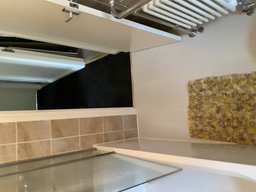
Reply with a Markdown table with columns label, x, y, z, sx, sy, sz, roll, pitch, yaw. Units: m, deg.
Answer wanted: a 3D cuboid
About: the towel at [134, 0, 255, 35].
| label | x | y | z | sx | sy | sz | roll | pitch | yaw |
| --- | --- | --- | --- | --- | --- | --- | --- | --- | --- |
| towel | 0.440 | -0.580 | 1.350 | 0.500 | 0.630 | 0.120 | -6 | 85 | 49 |
